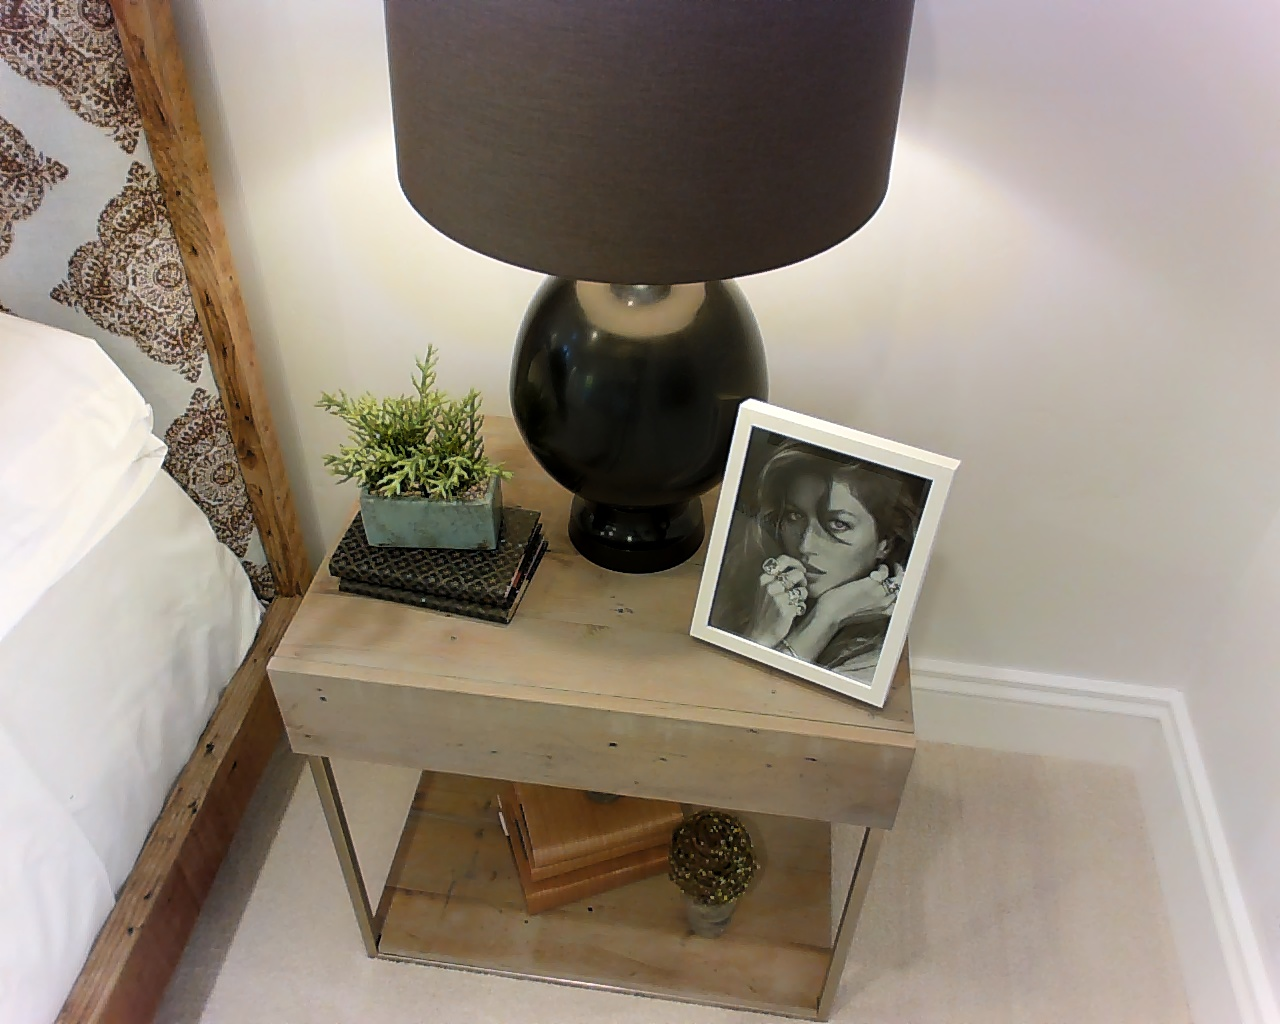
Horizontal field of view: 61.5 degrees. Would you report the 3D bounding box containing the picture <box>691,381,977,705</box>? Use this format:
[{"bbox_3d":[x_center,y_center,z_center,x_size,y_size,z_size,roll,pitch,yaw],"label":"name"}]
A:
[{"bbox_3d":[0.200,0.030,1.180,0.270,0.290,0.070,16,29,26],"label":"picture"}]

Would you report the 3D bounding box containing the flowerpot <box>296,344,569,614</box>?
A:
[{"bbox_3d":[-0.230,-0.040,1.280,0.250,0.240,0.180,5,41,6],"label":"flowerpot"}]
